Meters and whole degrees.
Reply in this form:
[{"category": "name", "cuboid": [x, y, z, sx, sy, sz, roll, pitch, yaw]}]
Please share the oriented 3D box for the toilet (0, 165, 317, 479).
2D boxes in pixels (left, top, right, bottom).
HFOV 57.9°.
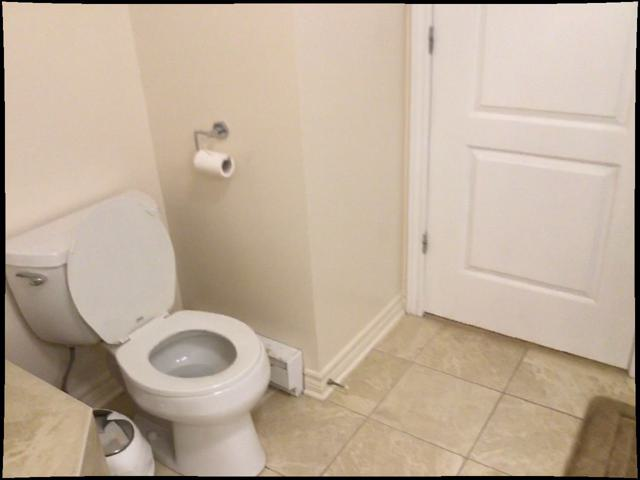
[{"category": "toilet", "cuboid": [-0.450, 0.260, 1.670, 0.680, 0.751, 0.490, 13, 31, 31]}]
